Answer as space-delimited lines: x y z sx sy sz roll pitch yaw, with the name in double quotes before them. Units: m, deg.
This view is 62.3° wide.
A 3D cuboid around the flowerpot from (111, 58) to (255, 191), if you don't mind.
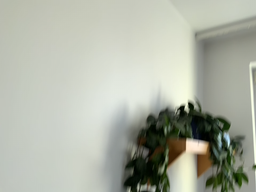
"flowerpot" 0.420 0.450 1.210 0.440 0.930 1.080 -5 -16 35
